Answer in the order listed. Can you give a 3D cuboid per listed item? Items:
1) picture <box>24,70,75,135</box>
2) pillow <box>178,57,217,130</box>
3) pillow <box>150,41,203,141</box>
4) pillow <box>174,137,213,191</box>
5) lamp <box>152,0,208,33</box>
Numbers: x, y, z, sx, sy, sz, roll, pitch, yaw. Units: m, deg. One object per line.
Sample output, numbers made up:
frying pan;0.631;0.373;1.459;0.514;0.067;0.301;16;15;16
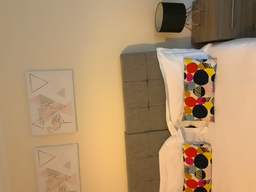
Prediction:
picture;-0.710;0.060;1.960;0.040;0.400;0.580;-136;44;-74
pillow;0.630;-0.030;1.900;0.150;0.270;0.580;8;110;53
pillow;0.480;-0.060;2.000;0.140;0.470;0.830;9;112;53
pillow;0.640;0.750;2.040;0.170;0.270;0.620;6;109;54
lamp;0.450;-0.710;1.890;0.290;0.390;0.250;-139;47;-75
